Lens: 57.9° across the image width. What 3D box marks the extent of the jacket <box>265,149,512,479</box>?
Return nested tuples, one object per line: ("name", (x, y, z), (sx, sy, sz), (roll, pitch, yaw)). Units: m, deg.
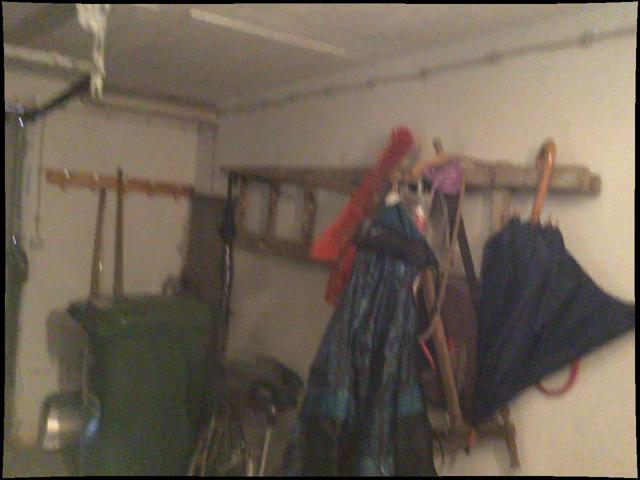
("jacket", (0.160, 0.290, 1.660), (0.370, 1.041, 0.530), (2, 5, -31))
